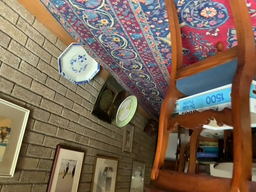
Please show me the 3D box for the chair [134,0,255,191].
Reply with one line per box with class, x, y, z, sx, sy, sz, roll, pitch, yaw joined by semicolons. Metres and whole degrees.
chair;0.430;-0.020;0.910;0.540;0.880;0.450;19;160;-29
